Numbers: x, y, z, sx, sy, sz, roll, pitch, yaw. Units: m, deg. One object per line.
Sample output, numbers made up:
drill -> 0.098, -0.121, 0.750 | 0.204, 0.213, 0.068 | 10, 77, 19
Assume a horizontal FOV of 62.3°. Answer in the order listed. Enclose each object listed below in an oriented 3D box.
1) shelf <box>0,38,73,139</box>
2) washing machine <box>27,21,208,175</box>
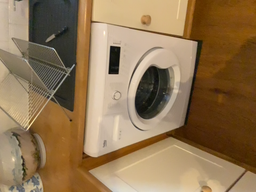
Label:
shelf -> -0.460, -0.060, 0.960 | 0.320, 0.260, 0.350 | 21, 110, 41
washing machine -> -0.060, -0.090, 1.370 | 0.680, 0.880, 0.630 | 19, 109, 42
